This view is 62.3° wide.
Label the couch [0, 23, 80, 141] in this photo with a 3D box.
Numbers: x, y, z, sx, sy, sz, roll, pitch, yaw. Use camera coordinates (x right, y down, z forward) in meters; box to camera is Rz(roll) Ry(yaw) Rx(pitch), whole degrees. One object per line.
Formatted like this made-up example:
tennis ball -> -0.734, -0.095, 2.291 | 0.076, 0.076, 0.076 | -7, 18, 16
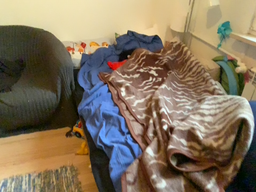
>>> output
couch -> -0.910, -0.170, 1.770 | 0.810, 0.670, 0.760 | -10, 34, -24
